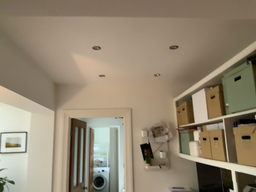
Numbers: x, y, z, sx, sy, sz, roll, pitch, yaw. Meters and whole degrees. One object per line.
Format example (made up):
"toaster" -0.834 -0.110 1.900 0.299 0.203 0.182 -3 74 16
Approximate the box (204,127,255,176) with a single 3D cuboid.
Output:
"box" 0.850 0.450 1.790 0.230 0.350 0.430 -1 -11 -2
